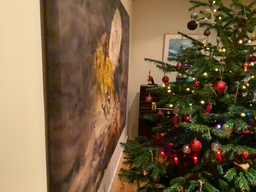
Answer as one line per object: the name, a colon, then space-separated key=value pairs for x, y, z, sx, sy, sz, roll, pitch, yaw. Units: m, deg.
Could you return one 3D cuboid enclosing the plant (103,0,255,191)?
plant: x=0.860 y=0.090 z=1.720 sx=1.810 sy=2.150 sz=1.630 roll=3 pitch=10 yaw=5
